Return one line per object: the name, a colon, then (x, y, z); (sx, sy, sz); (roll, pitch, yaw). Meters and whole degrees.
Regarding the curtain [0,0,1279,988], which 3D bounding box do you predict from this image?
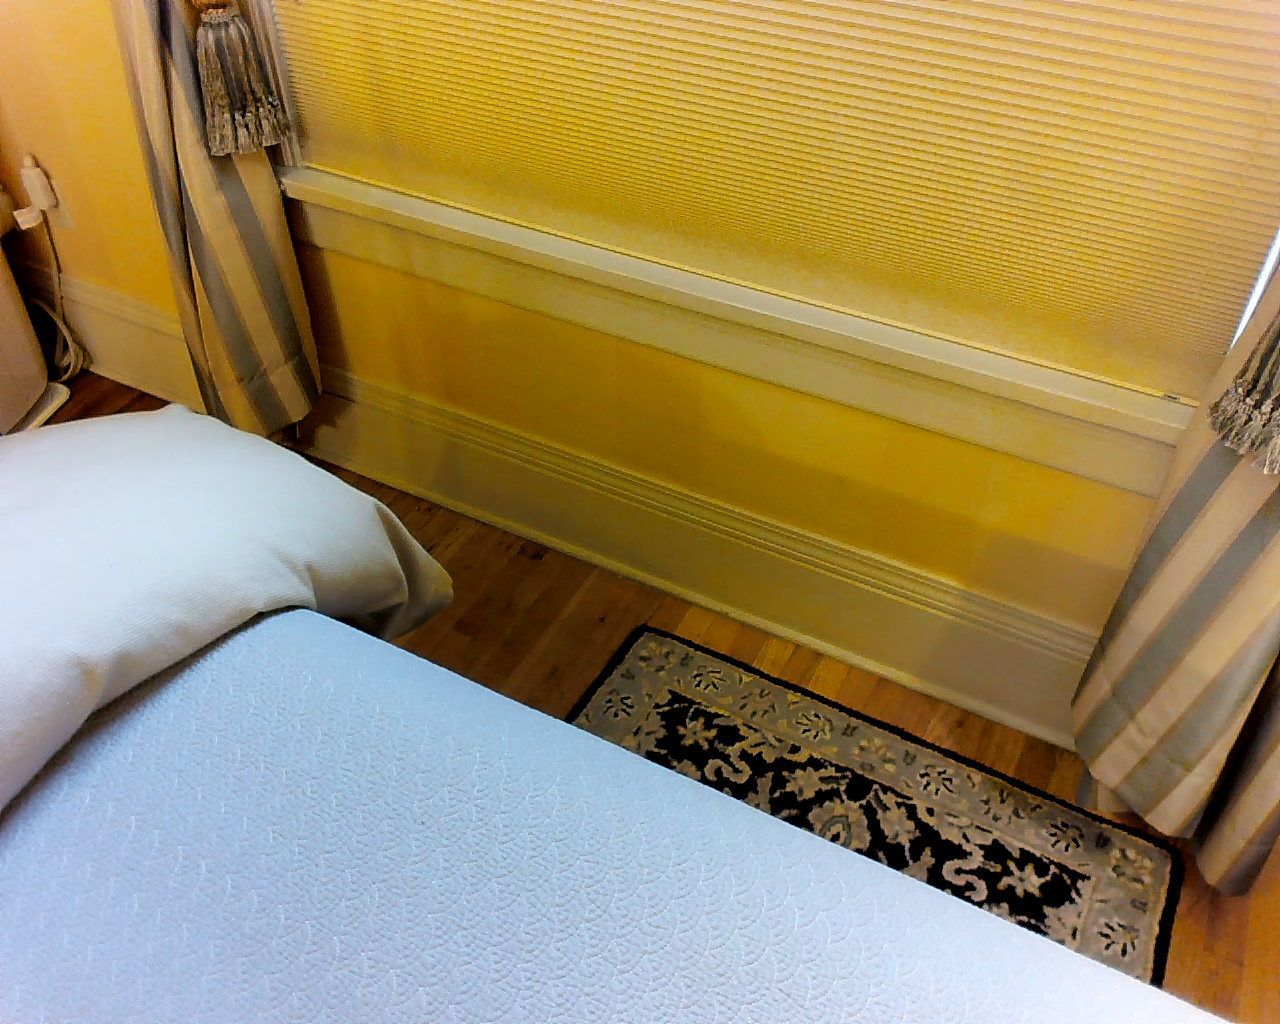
curtain: (0.010, -0.720, 1.070); (2.110, 2.560, 0.320); (20, 47, 20)
